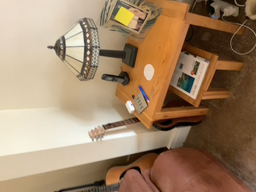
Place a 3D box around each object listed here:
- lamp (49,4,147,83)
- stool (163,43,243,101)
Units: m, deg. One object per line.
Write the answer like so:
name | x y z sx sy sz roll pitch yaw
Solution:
lamp | -0.180 -0.280 1.190 0.270 0.430 0.340 39 124 49
stool | 0.450 -0.150 1.310 0.290 0.290 0.250 40 124 49
